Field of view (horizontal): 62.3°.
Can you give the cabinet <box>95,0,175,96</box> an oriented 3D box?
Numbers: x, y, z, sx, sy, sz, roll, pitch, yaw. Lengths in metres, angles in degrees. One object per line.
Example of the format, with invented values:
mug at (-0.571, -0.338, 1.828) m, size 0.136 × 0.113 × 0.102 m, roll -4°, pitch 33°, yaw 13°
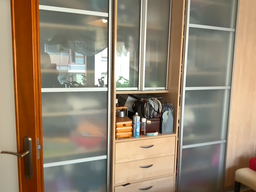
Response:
cabinet at (0.050, -0.530, 2.170) m, size 0.650 × 0.980 × 0.450 m, roll -2°, pitch 9°, yaw -25°
